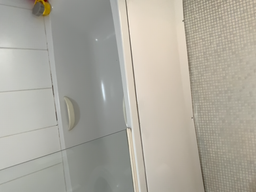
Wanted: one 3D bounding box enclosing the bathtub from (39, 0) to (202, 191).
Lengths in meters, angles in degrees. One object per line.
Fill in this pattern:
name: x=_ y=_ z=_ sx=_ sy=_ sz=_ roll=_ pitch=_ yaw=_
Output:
bathtub: x=-0.040 y=0.070 z=1.400 sx=0.710 sy=0.580 sz=1.660 roll=-5 pitch=93 yaw=43
